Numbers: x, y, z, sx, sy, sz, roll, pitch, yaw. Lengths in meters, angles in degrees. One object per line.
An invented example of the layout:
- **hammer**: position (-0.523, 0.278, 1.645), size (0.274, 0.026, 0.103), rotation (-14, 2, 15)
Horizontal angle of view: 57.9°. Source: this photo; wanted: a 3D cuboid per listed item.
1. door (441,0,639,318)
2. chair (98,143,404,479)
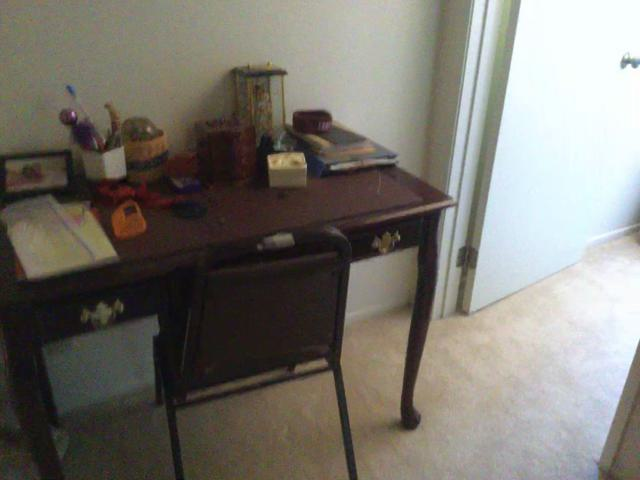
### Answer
- **door**: position (0.870, -0.390, 2.100), size (0.830, 1.270, 0.120), rotation (-14, 31, -28)
- **chair**: position (-0.180, 0.210, 1.370), size (0.450, 0.690, 0.550), rotation (-14, 31, -28)
